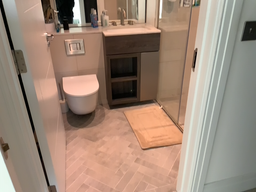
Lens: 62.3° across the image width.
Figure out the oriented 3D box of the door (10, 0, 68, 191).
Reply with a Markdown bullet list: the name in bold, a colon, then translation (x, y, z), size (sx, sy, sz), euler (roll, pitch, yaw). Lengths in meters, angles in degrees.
- **door**: translation (-0.530, -0.330, 1.270), size (0.050, 2.020, 0.870), euler (-8, 28, -14)

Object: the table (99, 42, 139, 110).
- **table**: translation (-0.120, -0.260, 2.610), size (0.360, 0.680, 0.480), euler (-7, 28, -13)
